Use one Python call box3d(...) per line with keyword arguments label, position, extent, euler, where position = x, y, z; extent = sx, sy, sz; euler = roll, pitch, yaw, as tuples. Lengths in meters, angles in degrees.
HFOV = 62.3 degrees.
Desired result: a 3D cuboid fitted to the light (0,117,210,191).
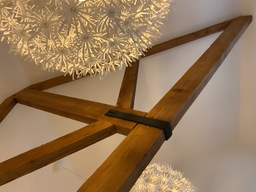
box3d(label="light", position=(-0.210, 1.030, 2.260), extent=(1.840, 0.970, 1.060), euler=(4, 36, 31))
